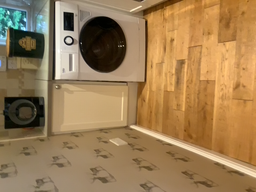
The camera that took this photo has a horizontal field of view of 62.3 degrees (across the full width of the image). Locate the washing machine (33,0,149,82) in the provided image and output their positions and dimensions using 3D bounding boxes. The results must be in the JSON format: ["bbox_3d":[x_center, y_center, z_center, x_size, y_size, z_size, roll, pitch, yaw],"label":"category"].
[{"bbox_3d":[-0.380,-0.470,2.050,0.700,0.890,0.610,11,99,57],"label":"washing machine"}]
